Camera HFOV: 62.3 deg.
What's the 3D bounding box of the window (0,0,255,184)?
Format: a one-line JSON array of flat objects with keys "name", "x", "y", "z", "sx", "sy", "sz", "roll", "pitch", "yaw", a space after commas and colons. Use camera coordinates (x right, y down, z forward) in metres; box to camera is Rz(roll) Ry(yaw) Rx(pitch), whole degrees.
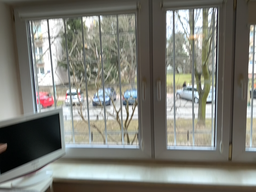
[{"name": "window", "x": 0.410, "y": -0.060, "z": 1.340, "sx": 2.440, "sy": 1.220, "sz": 0.160, "roll": -1, "pitch": 8, "yaw": 5}]
